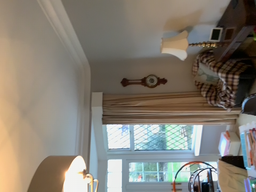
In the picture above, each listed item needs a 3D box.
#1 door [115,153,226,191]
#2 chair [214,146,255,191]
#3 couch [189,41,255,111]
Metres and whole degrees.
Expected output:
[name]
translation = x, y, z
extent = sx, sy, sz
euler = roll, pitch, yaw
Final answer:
[door]
translation = 0.820, 1.800, 4.260
extent = 0.210, 2.160, 1.200
euler = 85, -177, -68
[chair]
translation = 1.390, 0.740, 2.040
extent = 0.490, 0.870, 0.490
euler = 84, -176, -74
[couch]
translation = 1.480, -0.350, 3.400
extent = 0.870, 0.690, 0.780
euler = -90, -2, -57
